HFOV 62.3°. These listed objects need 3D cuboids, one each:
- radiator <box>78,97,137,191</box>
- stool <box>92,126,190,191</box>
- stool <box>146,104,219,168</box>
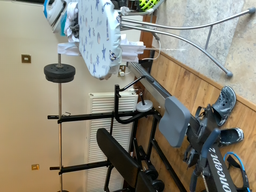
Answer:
[{"bbox_3d":[-0.330,0.810,2.850,0.140,0.600,1.750,-123,36,-52],"label":"radiator"},{"bbox_3d":[0.080,0.790,2.050,1.170,0.620,0.330,-127,40,-56],"label":"stool"},{"bbox_3d":[0.380,0.280,1.560,0.280,0.350,0.330,-121,35,-51],"label":"stool"}]
